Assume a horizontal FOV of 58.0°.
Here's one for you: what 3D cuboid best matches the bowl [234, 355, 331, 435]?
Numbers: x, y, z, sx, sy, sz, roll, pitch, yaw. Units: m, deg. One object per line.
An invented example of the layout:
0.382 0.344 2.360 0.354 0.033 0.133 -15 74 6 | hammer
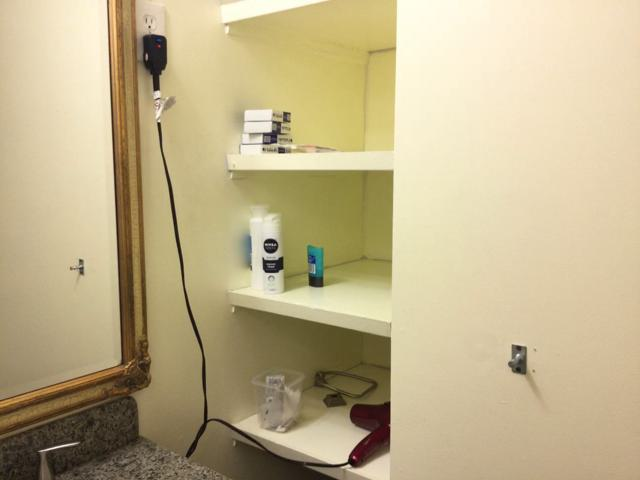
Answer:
-0.100 0.410 1.560 0.180 0.120 0.190 6 9 36 | bowl
